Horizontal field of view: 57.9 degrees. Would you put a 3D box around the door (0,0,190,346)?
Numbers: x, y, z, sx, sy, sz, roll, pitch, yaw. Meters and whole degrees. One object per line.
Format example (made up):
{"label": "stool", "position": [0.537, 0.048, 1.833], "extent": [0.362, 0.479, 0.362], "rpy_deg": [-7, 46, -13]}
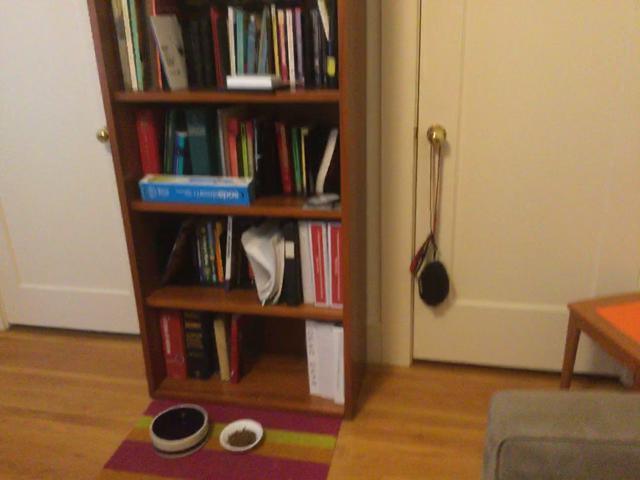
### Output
{"label": "door", "position": [-1.060, -0.500, 2.060], "extent": [0.870, 1.980, 0.090], "rpy_deg": [-1, 22, 11]}

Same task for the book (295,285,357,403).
{"label": "book", "position": [0.030, 0.360, 2.050], "extent": [0.150, 0.300, 0.290], "rpy_deg": [-1, 22, 11]}

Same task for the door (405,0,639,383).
{"label": "door", "position": [0.680, -0.420, 1.790], "extent": [0.800, 1.990, 0.080], "rpy_deg": [-1, 22, 11]}

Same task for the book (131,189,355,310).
{"label": "book", "position": [-0.240, 0.030, 1.980], "extent": [0.670, 0.310, 0.290], "rpy_deg": [-1, 22, 11]}

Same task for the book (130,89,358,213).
{"label": "book", "position": [-0.230, -0.290, 1.900], "extent": [0.670, 0.330, 0.220], "rpy_deg": [-1, 22, 11]}

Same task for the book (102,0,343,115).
{"label": "book", "position": [-0.270, -0.600, 1.750], "extent": [0.620, 0.350, 0.290], "rpy_deg": [-1, 22, 11]}

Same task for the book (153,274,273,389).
{"label": "book", "position": [-0.380, 0.330, 2.140], "extent": [0.320, 0.320, 0.270], "rpy_deg": [-1, 22, 11]}

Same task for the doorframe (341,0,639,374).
{"label": "doorframe", "position": [0.670, -0.500, 1.760], "extent": [1.180, 2.100, 0.060], "rpy_deg": [-1, 22, 11]}
